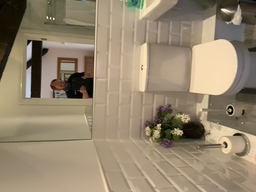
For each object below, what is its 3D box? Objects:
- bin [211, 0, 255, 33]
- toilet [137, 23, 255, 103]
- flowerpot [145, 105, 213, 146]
[{"bbox_3d":[0.830,-0.600,1.570,0.240,0.300,0.190,-158,70,-74],"label":"bin"},{"bbox_3d":[0.560,-0.180,1.460,0.670,0.820,0.380,-162,74,-75],"label":"toilet"},{"bbox_3d":[0.400,0.220,1.680,0.200,0.470,0.270,-160,72,-74],"label":"flowerpot"}]
